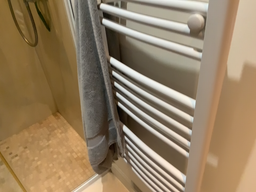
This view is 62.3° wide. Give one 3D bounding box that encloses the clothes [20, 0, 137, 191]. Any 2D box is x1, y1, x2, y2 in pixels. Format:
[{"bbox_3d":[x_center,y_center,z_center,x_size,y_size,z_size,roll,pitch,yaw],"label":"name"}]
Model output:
[{"bbox_3d":[-0.150,0.000,0.840,0.220,0.950,0.250,-26,42,-26],"label":"clothes"}]
